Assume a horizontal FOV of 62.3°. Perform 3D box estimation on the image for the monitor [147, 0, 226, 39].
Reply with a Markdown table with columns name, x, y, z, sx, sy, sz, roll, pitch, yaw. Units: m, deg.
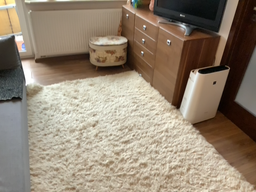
| name | x | y | z | sx | sy | sz | roll | pitch | yaw |
| --- | --- | --- | --- | --- | --- | --- | --- | --- | --- |
| monitor | 0.530 | -0.950 | 2.050 | 0.040 | 0.570 | 0.840 | -25 | 42 | -35 |
